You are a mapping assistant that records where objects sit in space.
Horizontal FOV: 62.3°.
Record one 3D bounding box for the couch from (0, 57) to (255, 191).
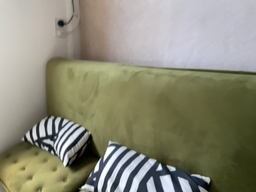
[{"bbox_3d":[-0.130,0.270,1.180,1.690,0.790,0.900,12,105,42],"label":"couch"}]
